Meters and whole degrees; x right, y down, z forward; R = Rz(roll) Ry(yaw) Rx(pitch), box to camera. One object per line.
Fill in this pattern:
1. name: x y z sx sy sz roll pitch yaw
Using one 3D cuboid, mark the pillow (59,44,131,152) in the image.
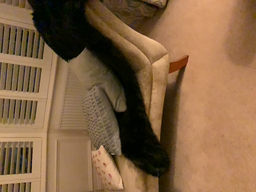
1. pillow: -0.230 0.030 1.380 0.440 0.310 0.570 -8 79 60
